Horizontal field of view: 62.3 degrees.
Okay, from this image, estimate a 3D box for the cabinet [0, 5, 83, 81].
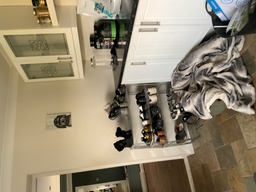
[{"bbox_3d":[-1.000,-0.570,2.520,1.000,0.830,0.290,108,156,-64],"label":"cabinet"}]
